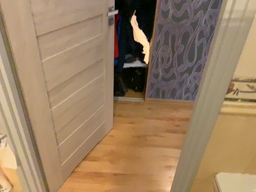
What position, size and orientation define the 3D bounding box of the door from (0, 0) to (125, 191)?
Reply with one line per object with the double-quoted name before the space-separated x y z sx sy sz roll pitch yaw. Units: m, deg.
"door" -0.280 -0.310 1.190 0.070 2.030 0.920 19 37 22
